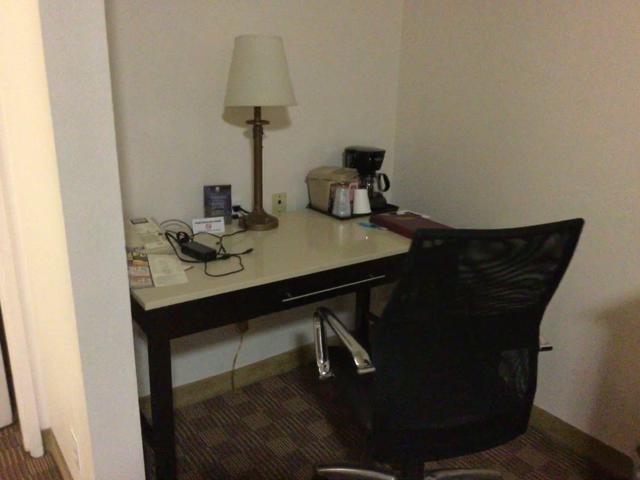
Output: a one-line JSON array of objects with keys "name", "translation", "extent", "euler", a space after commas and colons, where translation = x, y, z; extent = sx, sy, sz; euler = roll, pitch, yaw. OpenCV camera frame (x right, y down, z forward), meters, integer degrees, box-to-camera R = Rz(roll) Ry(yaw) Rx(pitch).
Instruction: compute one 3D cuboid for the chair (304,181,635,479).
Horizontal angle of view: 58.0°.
[{"name": "chair", "translation": [0.330, 0.390, 1.680], "extent": [0.590, 1.030, 0.670], "euler": [-1, 14, -14]}]
